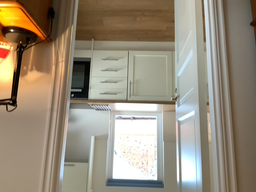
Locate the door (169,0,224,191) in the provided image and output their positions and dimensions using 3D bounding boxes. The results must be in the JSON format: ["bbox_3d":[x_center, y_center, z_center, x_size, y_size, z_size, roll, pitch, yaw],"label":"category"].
[{"bbox_3d":[0.400,-0.080,1.470,0.060,2.060,0.960,1,168,2],"label":"door"}]
